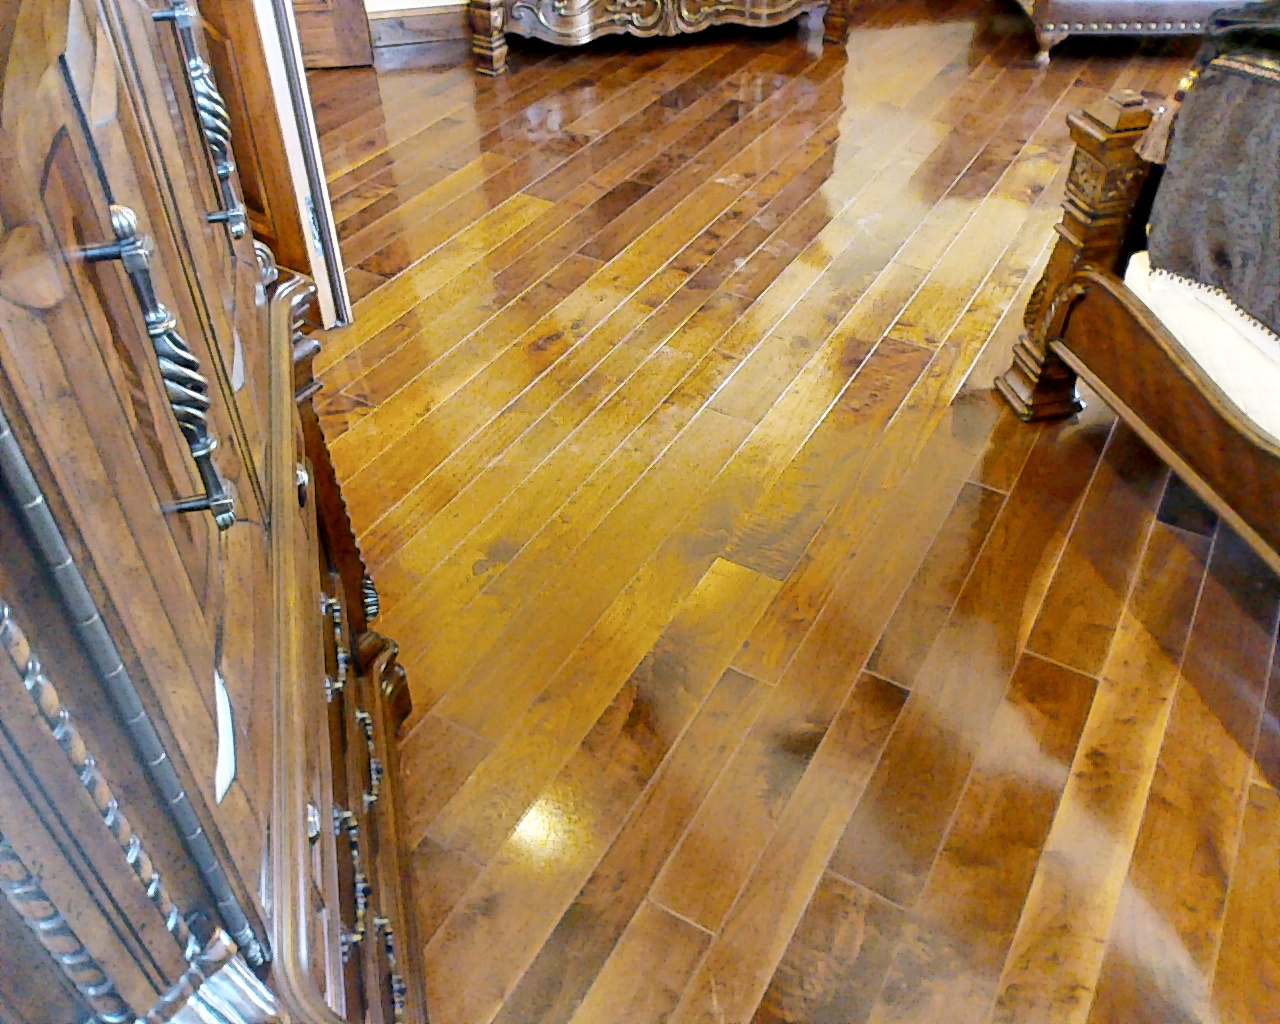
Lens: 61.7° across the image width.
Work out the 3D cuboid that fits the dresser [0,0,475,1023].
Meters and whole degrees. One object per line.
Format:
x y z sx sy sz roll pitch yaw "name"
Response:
-0.540 0.070 1.040 0.550 1.740 1.170 -9 43 -10 "dresser"
